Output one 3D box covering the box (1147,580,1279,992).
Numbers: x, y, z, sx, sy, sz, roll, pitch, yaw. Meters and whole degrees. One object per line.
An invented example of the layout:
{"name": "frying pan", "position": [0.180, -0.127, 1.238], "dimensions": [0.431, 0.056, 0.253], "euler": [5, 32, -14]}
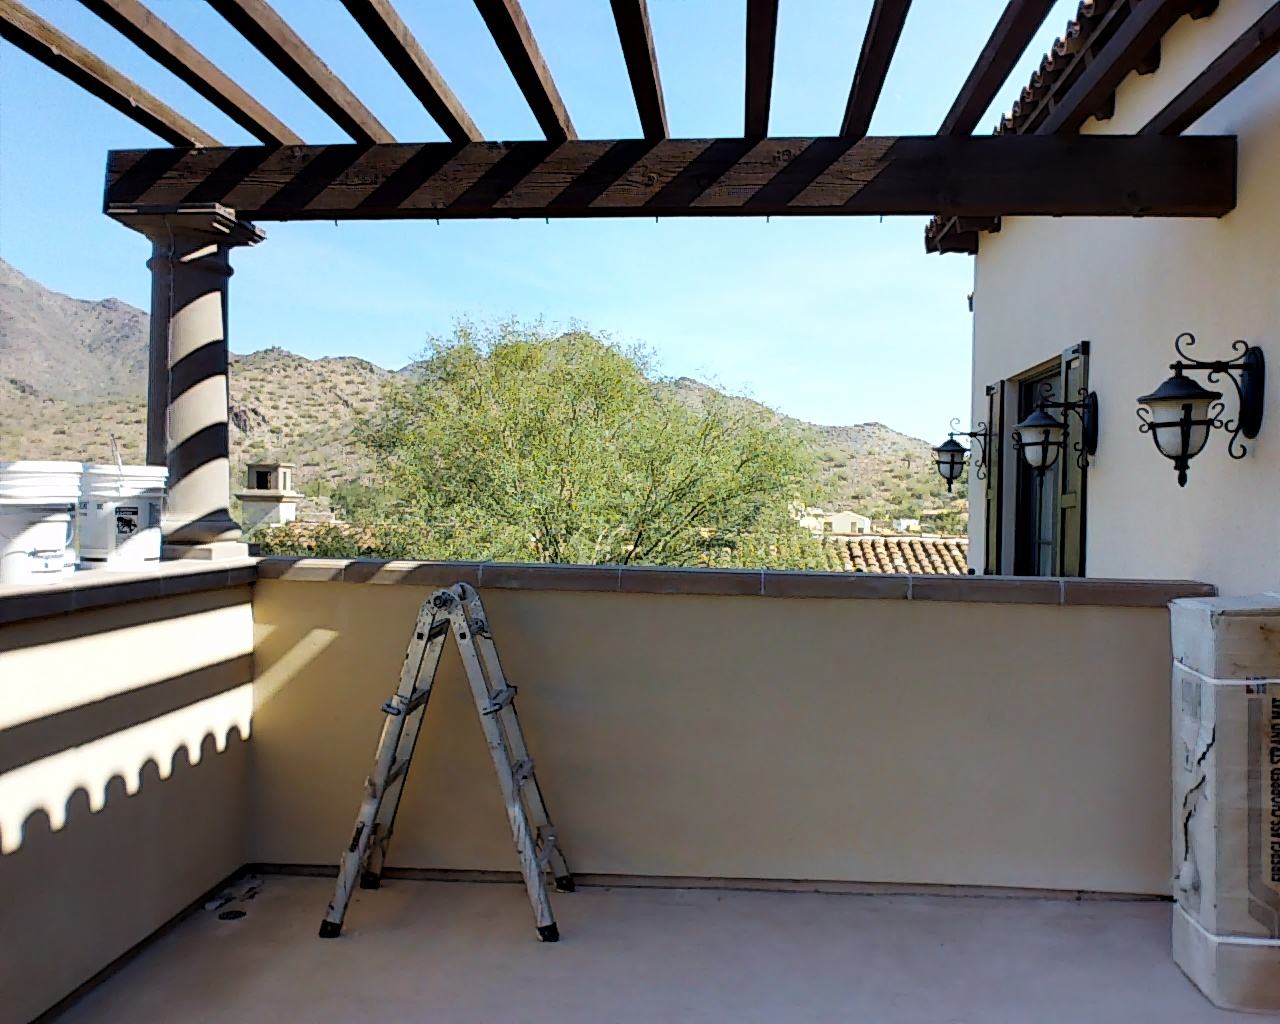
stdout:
{"name": "box", "position": [2.020, 0.870, 3.570], "dimensions": [0.440, 1.240, 0.500], "euler": [1, 1, 7]}
